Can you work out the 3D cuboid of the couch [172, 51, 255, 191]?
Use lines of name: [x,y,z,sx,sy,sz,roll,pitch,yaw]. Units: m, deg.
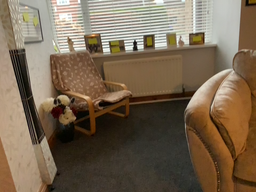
couch: [1.060,0.230,1.480,1.220,0.950,0.970,6,20,29]
